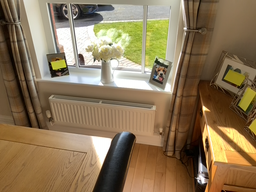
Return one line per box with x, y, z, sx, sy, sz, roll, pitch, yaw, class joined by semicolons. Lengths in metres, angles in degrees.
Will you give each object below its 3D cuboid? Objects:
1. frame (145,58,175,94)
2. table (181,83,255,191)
0.280;-0.180;1.890;0.210;0.250;0.120;23;39;32;frame
0.640;0.450;1.510;0.410;0.740;0.830;6;33;10;table
